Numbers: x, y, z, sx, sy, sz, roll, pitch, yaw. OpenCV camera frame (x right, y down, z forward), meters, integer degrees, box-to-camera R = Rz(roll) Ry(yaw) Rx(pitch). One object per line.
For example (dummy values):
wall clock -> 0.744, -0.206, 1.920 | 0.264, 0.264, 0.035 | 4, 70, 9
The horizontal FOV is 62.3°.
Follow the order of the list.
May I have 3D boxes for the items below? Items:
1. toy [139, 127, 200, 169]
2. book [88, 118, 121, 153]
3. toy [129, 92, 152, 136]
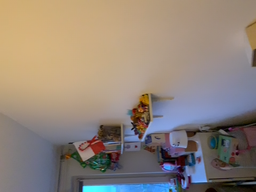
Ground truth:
toy -> 0.430, 0.640, 2.500 | 0.830, 0.500, 0.320 | 97, 172, -65
book -> -0.220, 0.440, 2.200 | 0.810, 0.280, 0.280 | 102, 167, -74
toy -> 0.080, 0.170, 1.660 | 0.670, 0.100, 0.180 | 99, 170, -71
